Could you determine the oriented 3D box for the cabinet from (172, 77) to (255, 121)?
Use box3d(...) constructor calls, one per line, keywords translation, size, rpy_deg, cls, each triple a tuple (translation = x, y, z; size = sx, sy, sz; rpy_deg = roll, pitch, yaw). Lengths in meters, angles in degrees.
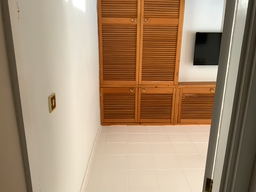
box3d(translation=(1.480, 0.050, 3.620), size=(1.350, 0.690, 0.300), rpy_deg=(0, -163, 0), cls="cabinet")
